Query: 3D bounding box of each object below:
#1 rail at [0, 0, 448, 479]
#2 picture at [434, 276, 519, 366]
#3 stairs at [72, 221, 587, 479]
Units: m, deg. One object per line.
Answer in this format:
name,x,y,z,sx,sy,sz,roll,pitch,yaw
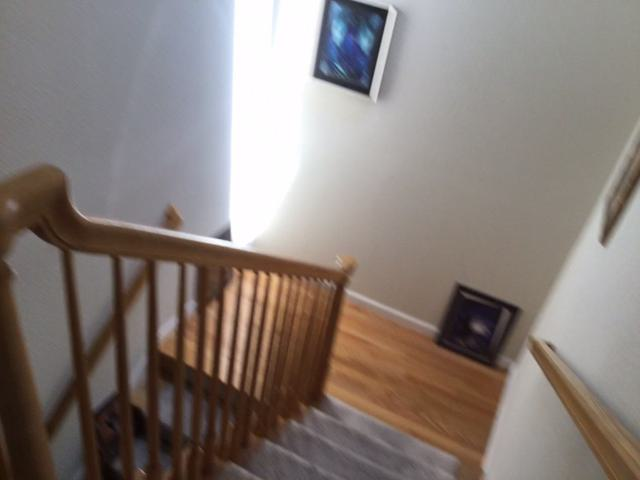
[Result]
rail,-0.180,0.310,1.950,0.240,1.950,1.630,23,39,15
picture,0.960,0.510,3.600,0.390,0.520,0.070,21,39,18
stairs,0.090,0.870,2.010,1.080,1.070,1.300,23,39,15
